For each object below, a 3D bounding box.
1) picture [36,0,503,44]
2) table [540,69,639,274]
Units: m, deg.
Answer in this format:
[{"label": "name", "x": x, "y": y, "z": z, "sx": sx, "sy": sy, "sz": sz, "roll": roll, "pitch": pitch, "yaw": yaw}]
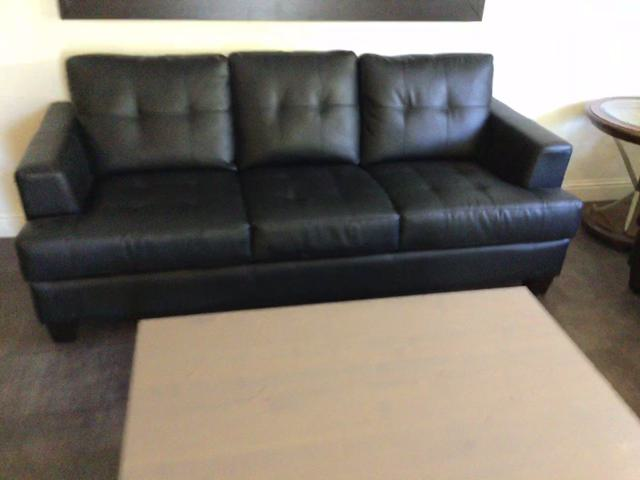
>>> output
[{"label": "picture", "x": -0.170, "y": -1.050, "z": 2.540, "sx": 1.990, "sy": 0.280, "sz": 0.160, "roll": -2, "pitch": 30, "yaw": -9}, {"label": "table", "x": 1.650, "y": -0.360, "z": 2.780, "sx": 0.690, "sy": 0.720, "sz": 0.760, "roll": -2, "pitch": 30, "yaw": -9}]
